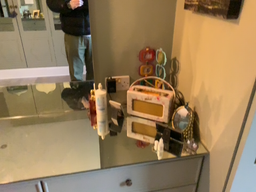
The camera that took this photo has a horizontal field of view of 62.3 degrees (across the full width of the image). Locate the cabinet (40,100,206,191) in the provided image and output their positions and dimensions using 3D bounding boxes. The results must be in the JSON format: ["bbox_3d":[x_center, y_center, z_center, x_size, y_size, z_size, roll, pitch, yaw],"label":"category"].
[{"bbox_3d":[-0.050,0.490,1.230,0.680,0.720,0.500,-6,28,-11],"label":"cabinet"}]
